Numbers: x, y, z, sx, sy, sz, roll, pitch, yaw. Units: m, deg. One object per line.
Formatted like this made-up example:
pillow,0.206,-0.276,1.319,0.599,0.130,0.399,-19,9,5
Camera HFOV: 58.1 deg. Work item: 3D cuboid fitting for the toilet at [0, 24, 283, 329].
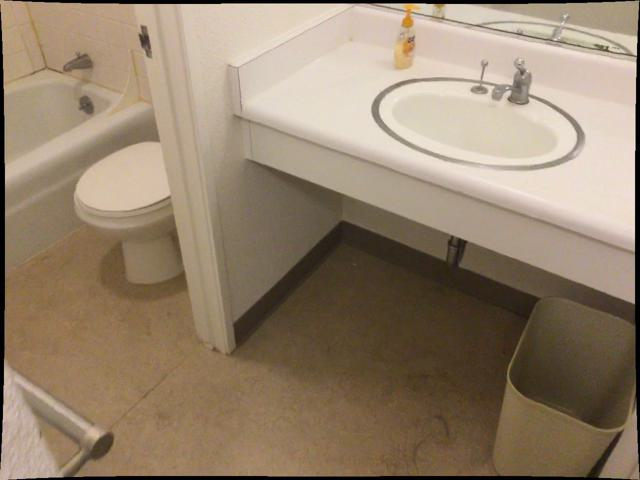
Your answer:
toilet,-0.549,-0.250,2.050,0.480,0.721,0.710,23,45,25

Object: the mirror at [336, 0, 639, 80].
mirror,0.539,-0.541,1.530,1.099,0.050,0.110,23,45,25

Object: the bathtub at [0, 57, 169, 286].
bathtub,-1.378,-0.240,2.310,0.769,0.390,1.290,23,45,25
